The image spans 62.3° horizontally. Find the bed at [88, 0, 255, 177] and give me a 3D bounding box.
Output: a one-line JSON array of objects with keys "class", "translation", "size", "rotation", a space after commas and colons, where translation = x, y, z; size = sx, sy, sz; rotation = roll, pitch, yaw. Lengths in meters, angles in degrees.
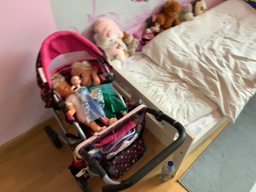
[{"class": "bed", "translation": [0.640, -0.290, 1.670], "size": [1.680, 0.410, 0.800], "rotation": [-32, 58, -25]}]
